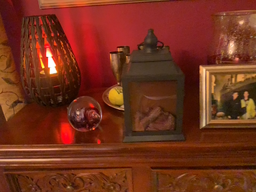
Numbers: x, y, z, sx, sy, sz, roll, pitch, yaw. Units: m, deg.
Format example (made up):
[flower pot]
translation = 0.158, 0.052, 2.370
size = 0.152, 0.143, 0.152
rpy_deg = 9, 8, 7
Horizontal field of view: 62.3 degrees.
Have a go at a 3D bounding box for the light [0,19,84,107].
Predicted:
[light]
translation = -0.300, -0.140, 0.820
size = 0.170, 0.270, 0.260
rpy_deg = -3, 24, 1
